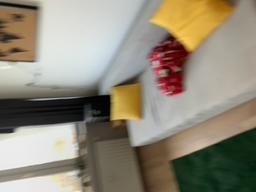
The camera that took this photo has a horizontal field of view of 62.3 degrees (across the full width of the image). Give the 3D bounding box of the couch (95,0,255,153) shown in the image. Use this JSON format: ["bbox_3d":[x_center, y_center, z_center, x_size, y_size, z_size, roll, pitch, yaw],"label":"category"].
[{"bbox_3d":[0.380,-0.180,2.010,2.040,0.720,0.950,-46,52,56],"label":"couch"}]
